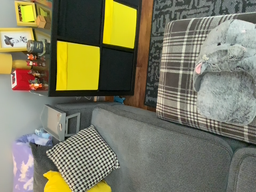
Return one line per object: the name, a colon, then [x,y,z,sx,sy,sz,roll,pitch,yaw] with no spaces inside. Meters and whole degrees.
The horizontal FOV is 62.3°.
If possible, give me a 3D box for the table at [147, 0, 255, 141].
table: [0.590,-0.130,1.070,0.960,0.310,0.610,11,99,45]
